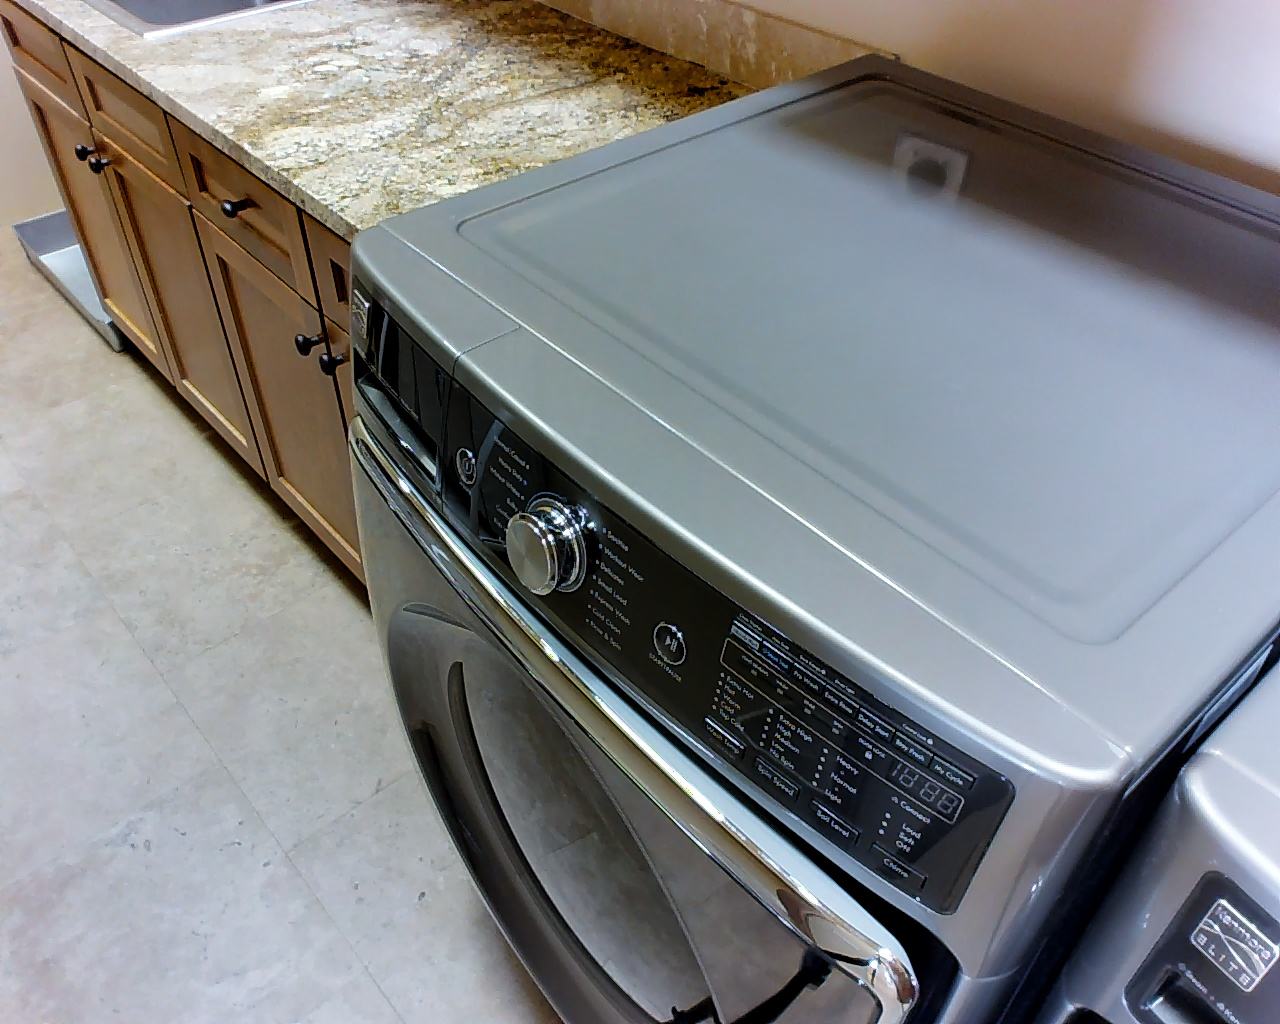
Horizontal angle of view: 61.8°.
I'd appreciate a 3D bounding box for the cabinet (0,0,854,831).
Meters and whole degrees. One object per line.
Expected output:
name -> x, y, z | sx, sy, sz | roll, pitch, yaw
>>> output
cabinet -> -0.530, -0.410, 1.980 | 0.630, 0.900, 1.710 | -30, 49, -30
